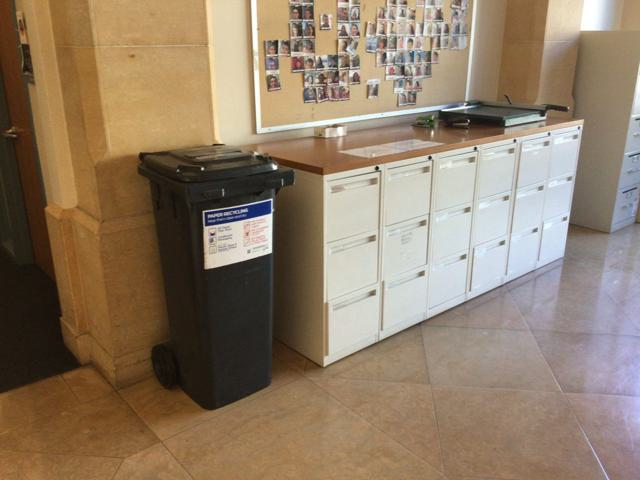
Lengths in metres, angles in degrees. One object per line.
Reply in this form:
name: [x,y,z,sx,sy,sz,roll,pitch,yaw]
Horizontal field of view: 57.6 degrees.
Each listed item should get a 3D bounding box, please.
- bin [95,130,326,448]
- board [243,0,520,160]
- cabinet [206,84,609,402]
bin: [-0.430,0.150,2.410,0.600,1.080,0.530,-19,22,-32]
board: [0.470,-1.310,3.370,1.950,1.310,0.180,-19,22,-32]
cabinet: [0.650,-0.180,3.400,2.310,1.120,0.790,-19,22,-32]
